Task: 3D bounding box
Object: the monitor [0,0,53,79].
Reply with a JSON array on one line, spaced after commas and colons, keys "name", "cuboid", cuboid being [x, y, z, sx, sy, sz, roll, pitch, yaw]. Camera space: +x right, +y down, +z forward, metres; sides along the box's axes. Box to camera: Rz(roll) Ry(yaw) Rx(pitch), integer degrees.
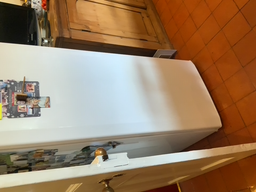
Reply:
[{"name": "monitor", "cuboid": [-0.810, -0.470, 1.500, 0.080, 0.520, 0.720, -49, 44, 51]}]
